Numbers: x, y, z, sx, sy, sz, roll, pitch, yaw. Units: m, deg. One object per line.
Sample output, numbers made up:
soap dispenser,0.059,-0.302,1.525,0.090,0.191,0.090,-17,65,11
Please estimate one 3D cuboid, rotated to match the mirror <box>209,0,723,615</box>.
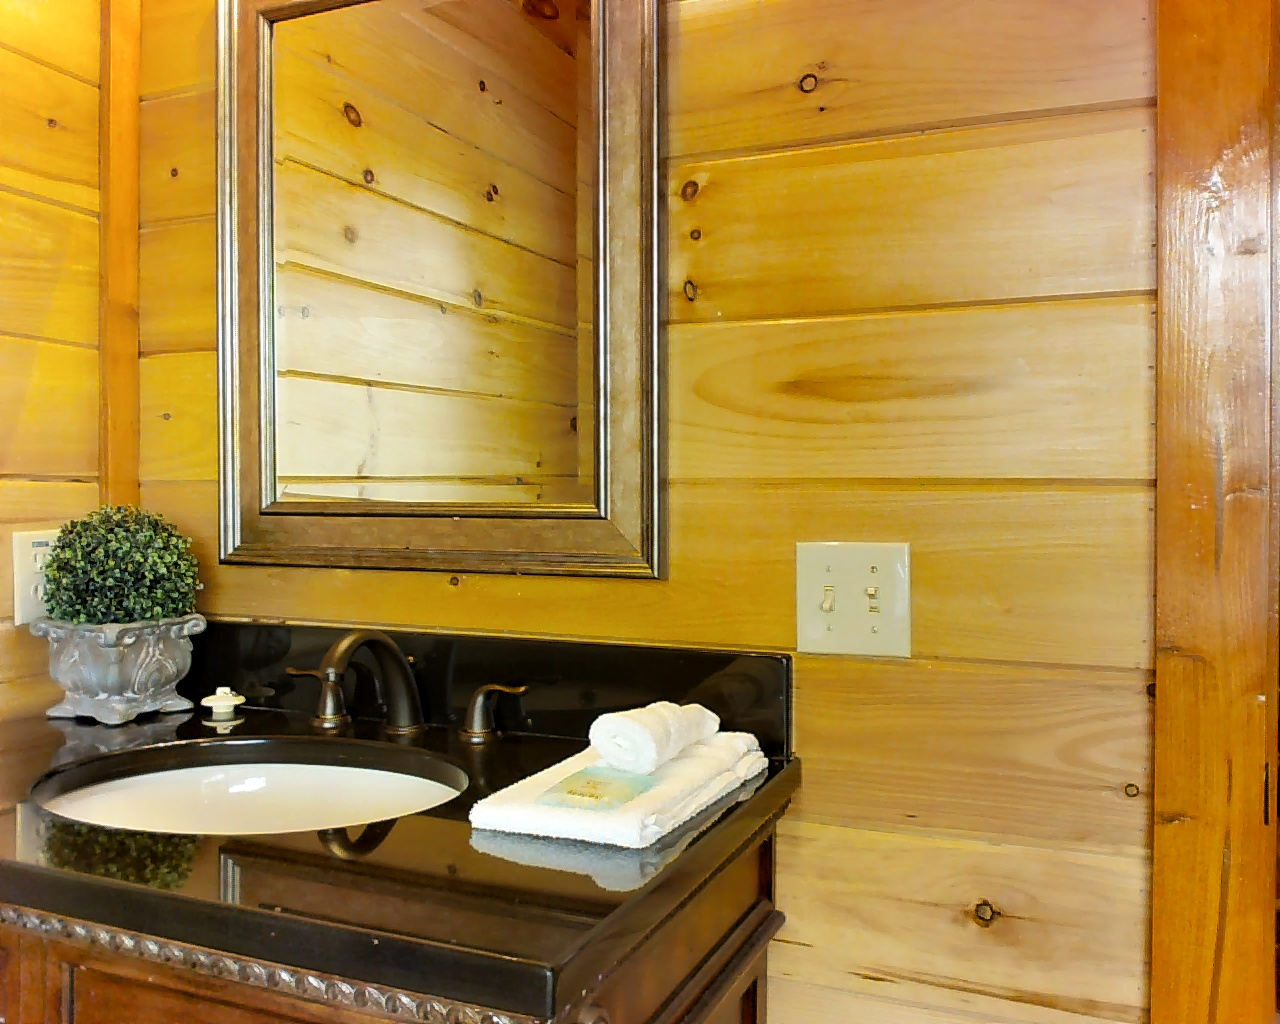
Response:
mirror,-0.230,-0.560,1.260,0.670,1.330,0.050,0,1,24
